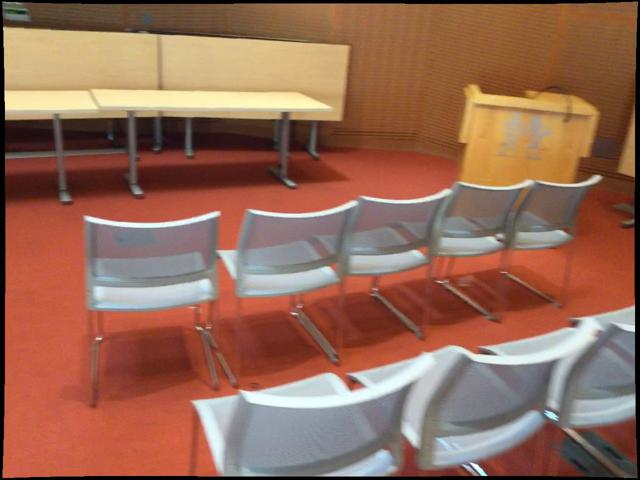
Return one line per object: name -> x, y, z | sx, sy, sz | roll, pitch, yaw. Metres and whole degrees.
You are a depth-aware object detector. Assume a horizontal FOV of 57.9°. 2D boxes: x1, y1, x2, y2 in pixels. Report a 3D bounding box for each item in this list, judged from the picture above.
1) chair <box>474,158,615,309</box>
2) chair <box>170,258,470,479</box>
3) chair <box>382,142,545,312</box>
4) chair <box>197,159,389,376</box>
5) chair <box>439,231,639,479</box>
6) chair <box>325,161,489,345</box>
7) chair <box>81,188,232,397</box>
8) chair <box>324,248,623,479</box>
chair -> 1.169, -0.040, 3.060 | 0.510, 0.731, 0.240 | -5, 26, -20
chair -> -0.060, 0.480, 1.560 | 0.579, 0.631, 0.570 | -5, 26, -21
chair -> 0.699, -0.090, 2.970 | 0.500, 0.691, 0.520 | -4, 26, -20
chair -> -0.160, 0.080, 2.550 | 0.639, 0.711, 0.570 | -6, 26, -23
chair -> 0.879, 0.450, 1.970 | 0.580, 0.721, 0.590 | -10, 28, -30
chair -> 0.400, 0.040, 2.700 | 0.690, 0.701, 0.240 | -12, 29, -34
chair -> -0.609, 0.190, 2.200 | 0.490, 0.711, 0.270 | -4, 26, -19
chair -> 0.400, 0.480, 1.760 | 0.530, 0.681, 0.570 | -7, 27, -24
